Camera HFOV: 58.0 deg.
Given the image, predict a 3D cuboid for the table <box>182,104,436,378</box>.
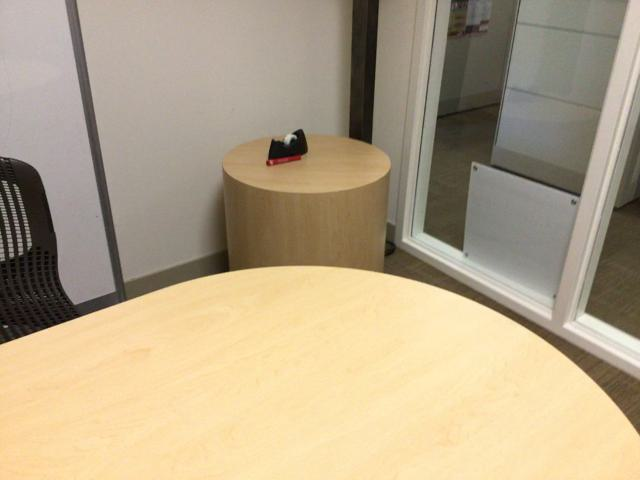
[{"bbox_3d":[-0.040,-0.050,2.120,0.620,0.680,0.610,-22,34,-34],"label":"table"}]
